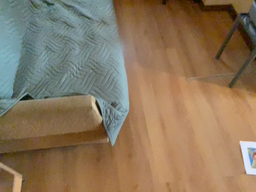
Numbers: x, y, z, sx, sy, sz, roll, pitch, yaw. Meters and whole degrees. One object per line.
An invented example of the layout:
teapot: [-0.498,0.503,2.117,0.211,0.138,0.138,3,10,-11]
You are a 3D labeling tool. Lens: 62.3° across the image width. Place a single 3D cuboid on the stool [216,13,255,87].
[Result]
stool: [0.930,-0.320,1.540,0.330,0.420,0.310,-2,58,-6]
